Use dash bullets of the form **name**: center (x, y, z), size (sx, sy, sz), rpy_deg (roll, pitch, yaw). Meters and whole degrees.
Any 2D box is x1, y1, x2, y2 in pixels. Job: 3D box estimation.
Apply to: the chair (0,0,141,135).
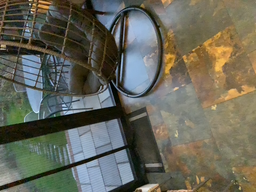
- **chair**: center (-0.700, -0.310, 1.780), size (0.880, 1.070, 0.950), rpy_deg (-34, 70, 52)
